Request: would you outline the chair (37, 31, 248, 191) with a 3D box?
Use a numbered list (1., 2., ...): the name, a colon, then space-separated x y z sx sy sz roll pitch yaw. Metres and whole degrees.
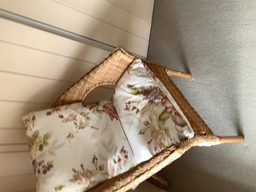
1. chair: 0.060 0.170 1.130 0.560 0.780 0.590 -52 50 29
